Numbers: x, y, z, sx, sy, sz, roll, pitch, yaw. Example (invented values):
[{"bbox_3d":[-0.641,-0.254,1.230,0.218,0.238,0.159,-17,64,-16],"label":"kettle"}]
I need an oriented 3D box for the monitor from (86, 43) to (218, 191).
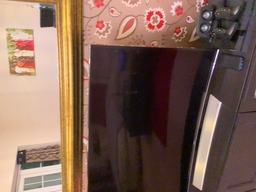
[{"bbox_3d":[0.110,0.330,1.320,0.120,0.720,1.250,-139,49,-62],"label":"monitor"}]
